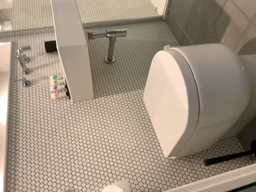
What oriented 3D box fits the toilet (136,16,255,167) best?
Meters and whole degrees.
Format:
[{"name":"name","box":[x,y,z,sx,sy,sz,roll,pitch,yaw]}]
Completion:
[{"name":"toilet","box":[0.350,0.000,1.000,0.530,0.470,0.400,98,157,-55]}]
